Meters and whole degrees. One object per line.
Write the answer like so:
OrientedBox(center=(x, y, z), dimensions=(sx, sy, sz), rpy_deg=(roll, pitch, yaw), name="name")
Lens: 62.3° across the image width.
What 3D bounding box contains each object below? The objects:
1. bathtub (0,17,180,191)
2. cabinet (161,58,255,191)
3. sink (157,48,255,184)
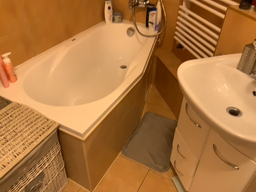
OrientedBox(center=(-0.210, -0.130, 1.830), dimensions=(0.790, 0.550, 1.470), rpy_deg=(20, 42, 22), name="bathtub")
OrientedBox(center=(0.470, 0.300, 1.120), dimensions=(0.310, 0.800, 0.540), rpy_deg=(-10, 40, -13), name="cabinet")
OrientedBox(center=(0.430, 0.020, 0.880), dimensions=(0.420, 0.170, 0.540), rpy_deg=(-10, 40, -13), name="sink")
